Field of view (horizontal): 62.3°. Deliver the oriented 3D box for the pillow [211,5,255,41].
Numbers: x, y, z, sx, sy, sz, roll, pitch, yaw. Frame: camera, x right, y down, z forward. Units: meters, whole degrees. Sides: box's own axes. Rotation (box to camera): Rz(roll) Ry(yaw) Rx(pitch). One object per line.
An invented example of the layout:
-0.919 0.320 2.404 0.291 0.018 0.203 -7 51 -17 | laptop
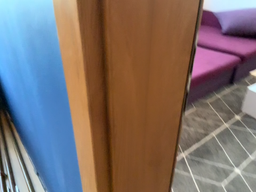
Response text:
1.620 -1.080 3.070 0.650 0.320 0.670 14 34 21 | pillow
